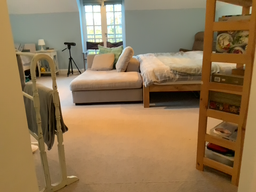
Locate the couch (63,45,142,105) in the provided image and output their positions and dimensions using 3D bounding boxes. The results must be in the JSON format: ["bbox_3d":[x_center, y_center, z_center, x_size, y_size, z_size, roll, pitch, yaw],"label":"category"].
[{"bbox_3d":[-0.340,-0.480,3.870,1.100,0.790,1.660,-1,16,1],"label":"couch"}]

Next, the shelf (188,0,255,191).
[{"bbox_3d":[0.840,-0.270,1.500,0.760,1.630,0.400,-17,22,-42],"label":"shelf"}]

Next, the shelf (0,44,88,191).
[{"bbox_3d":[-0.690,0.100,1.560,0.850,0.920,0.240,12,21,40],"label":"shelf"}]
